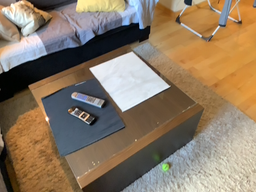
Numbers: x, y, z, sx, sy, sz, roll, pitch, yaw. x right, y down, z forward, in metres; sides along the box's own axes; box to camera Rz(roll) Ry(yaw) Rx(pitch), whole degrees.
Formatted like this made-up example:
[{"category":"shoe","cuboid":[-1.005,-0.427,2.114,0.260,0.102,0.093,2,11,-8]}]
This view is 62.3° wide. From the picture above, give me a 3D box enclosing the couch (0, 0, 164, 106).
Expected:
[{"category":"couch","cuboid":[-0.630,-0.820,1.970,1.730,0.840,0.910,-26,53,-20]}]
